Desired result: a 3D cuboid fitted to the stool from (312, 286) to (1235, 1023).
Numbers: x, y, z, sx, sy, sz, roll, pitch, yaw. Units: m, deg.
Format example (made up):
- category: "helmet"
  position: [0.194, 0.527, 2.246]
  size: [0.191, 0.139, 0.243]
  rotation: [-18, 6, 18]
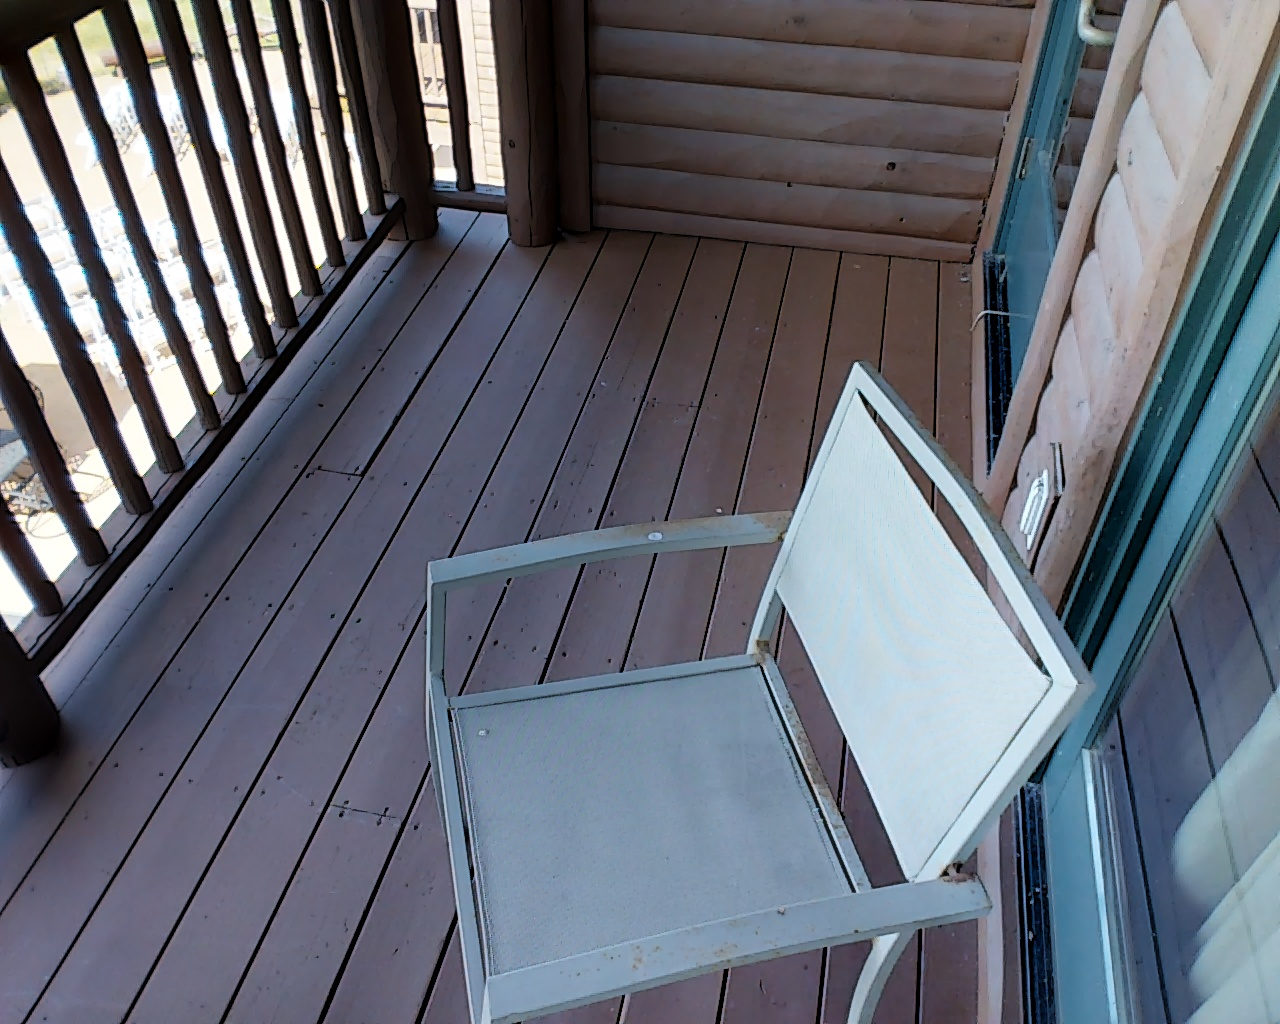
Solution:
- category: "stool"
  position: [0.060, 0.320, 1.330]
  size: [0.700, 0.870, 0.660]
  rotation: [-11, 44, -10]
